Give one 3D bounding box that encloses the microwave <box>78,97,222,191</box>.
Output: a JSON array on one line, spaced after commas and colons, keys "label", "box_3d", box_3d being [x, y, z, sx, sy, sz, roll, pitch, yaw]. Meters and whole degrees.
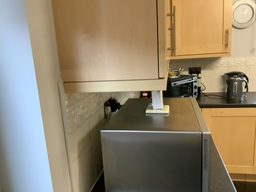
[{"label": "microwave", "box_3d": [0.110, 0.200, 0.990, 0.490, 0.280, 0.490, -1, 12, 10]}]
